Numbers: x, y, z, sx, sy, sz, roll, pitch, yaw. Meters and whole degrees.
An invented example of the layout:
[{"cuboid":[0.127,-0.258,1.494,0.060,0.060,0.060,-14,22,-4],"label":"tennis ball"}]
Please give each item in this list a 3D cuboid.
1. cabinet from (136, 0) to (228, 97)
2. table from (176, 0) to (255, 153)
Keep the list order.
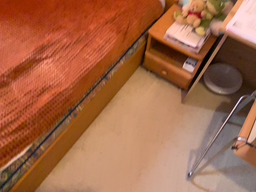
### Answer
[{"cuboid":[0.390,-0.380,1.640,0.430,0.430,0.480,31,62,14],"label":"cabinet"},{"cuboid":[1.070,-0.010,1.270,1.250,0.750,0.600,31,62,14],"label":"table"}]
